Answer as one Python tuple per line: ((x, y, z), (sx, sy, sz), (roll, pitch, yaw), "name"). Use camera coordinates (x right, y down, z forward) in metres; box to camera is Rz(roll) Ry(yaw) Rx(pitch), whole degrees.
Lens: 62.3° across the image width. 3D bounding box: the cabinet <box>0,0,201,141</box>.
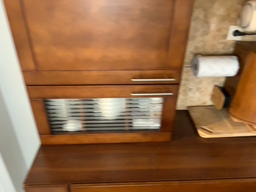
((-0.120, -0.180, 1.060), (0.320, 0.740, 0.790), (-96, 6, -56), "cabinet")
